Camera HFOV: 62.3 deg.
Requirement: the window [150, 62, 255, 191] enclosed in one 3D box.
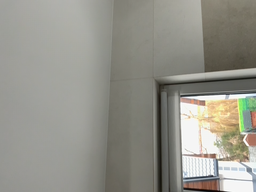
[{"bbox_3d":[0.810,0.260,1.250,0.260,1.330,0.890,26,-117,-67],"label":"window"}]
